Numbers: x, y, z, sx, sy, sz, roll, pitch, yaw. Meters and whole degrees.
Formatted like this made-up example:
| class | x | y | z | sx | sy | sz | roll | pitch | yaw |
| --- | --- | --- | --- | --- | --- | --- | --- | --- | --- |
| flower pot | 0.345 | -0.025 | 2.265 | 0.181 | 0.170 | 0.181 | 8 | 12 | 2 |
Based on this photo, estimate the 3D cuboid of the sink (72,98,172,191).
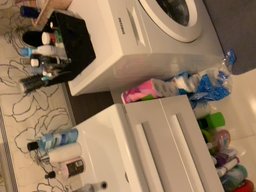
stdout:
| class | x | y | z | sx | sy | sz | roll | pitch | yaw |
| --- | --- | --- | --- | --- | --- | --- | --- | --- | --- |
| sink | -0.030 | 0.370 | 0.960 | 0.430 | 0.110 | 0.600 | -29 | 75 | 44 |

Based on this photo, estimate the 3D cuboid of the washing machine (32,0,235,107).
| class | x | y | z | sx | sy | sz | roll | pitch | yaw |
| --- | --- | --- | --- | --- | --- | --- | --- | --- | --- |
| washing machine | 0.040 | -0.400 | 1.260 | 0.630 | 0.850 | 0.650 | -29 | 75 | 44 |
